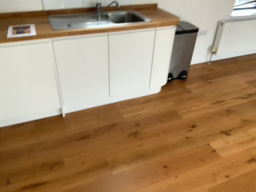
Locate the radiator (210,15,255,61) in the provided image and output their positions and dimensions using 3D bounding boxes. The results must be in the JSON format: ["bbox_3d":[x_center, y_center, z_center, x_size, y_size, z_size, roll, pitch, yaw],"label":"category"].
[{"bbox_3d":[1.930,-0.970,3.480,1.190,0.630,0.130,-12,38,-21],"label":"radiator"}]

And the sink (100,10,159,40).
[{"bbox_3d":[0.000,-0.800,2.330,0.480,0.150,0.510,-11,37,-19],"label":"sink"}]

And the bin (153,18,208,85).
[{"bbox_3d":[0.680,-0.610,2.900,0.470,0.750,0.380,-11,37,-20],"label":"bin"}]
